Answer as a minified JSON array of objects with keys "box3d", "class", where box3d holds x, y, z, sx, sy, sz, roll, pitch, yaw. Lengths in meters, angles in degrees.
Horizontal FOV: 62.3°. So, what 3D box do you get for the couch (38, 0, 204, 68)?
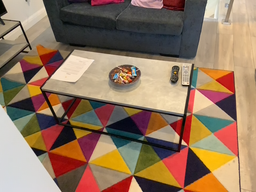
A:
[{"box3d":[-0.010,-1.080,2.460,1.650,0.840,0.980,12,47,16],"class":"couch"}]
